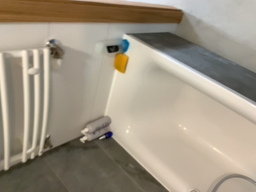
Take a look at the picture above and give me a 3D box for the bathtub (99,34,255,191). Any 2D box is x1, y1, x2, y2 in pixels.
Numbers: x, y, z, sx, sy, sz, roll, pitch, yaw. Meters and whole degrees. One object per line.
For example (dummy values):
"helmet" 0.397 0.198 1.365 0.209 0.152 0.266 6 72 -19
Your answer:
"bathtub" 0.610 0.290 1.190 1.570 0.560 0.690 37 126 29
